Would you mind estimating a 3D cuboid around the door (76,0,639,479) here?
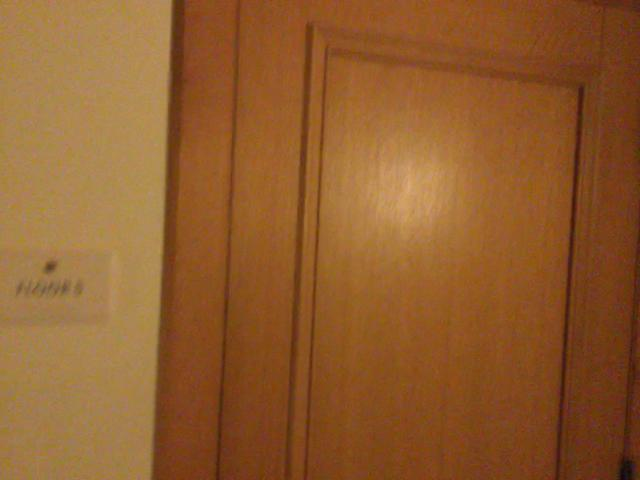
[{"bbox_3d":[0.220,0.490,1.100,1.280,2.250,0.110,7,-1,-19],"label":"door"}]
